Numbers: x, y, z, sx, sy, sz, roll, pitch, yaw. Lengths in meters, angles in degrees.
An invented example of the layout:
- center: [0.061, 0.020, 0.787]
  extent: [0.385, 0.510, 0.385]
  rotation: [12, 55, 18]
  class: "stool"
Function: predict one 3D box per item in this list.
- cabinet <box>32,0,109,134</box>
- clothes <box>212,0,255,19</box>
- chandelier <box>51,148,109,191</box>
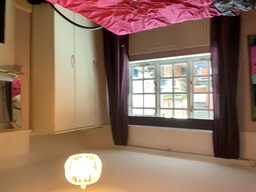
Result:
- center: [-0.920, -0.450, 3.710]
  extent: [0.480, 2.000, 1.340]
  rotation: [0, 179, 29]
  class: "cabinet"
- center: [0.960, -0.780, 1.710]
  extent: [0.420, 0.070, 0.470]
  rotation: [-1, 179, 37]
  class: "clothes"
- center: [-0.400, 0.710, 1.880]
  extent: [0.450, 0.420, 0.340]
  rotation: [0, 179, -3]
  class: "chandelier"
